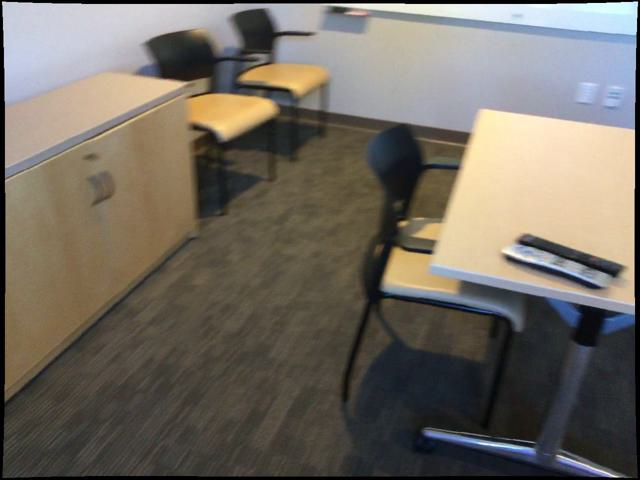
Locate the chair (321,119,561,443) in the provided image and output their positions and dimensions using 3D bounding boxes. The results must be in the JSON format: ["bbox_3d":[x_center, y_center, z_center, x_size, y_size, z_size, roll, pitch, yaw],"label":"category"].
[{"bbox_3d":[0.360,0.100,1.780,0.540,0.721,0.530,12,33,15],"label":"chair"}]

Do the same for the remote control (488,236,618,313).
[{"bbox_3d":[0.509,0.070,1.280,0.260,0.040,0.070,28,40,34],"label":"remote control"}]

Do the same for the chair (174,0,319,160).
[{"bbox_3d":[-0.420,-0.991,3.500,0.659,0.761,0.530,12,33,15],"label":"chair"}]

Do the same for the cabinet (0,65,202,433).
[{"bbox_3d":[-0.989,-0.070,2.020,0.550,0.701,1.250,12,33,15],"label":"cabinet"}]
